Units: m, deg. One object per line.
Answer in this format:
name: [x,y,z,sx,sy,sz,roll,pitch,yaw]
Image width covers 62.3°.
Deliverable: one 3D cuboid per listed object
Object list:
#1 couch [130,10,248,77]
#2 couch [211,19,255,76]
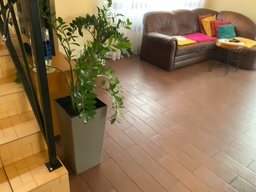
couch: [1.320,-1.230,4.440,2.400,0.870,1.020,-19,37,-35]
couch: [2.400,-1.020,4.260,1.040,0.840,0.750,-18,36,-35]
